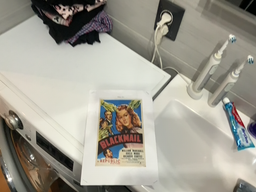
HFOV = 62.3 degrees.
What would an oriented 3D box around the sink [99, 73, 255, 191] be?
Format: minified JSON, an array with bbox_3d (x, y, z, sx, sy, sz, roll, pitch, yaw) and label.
[{"bbox_3d":[0.340,0.300,0.620,0.770,0.120,0.410,37,62,15],"label":"sink"}]
